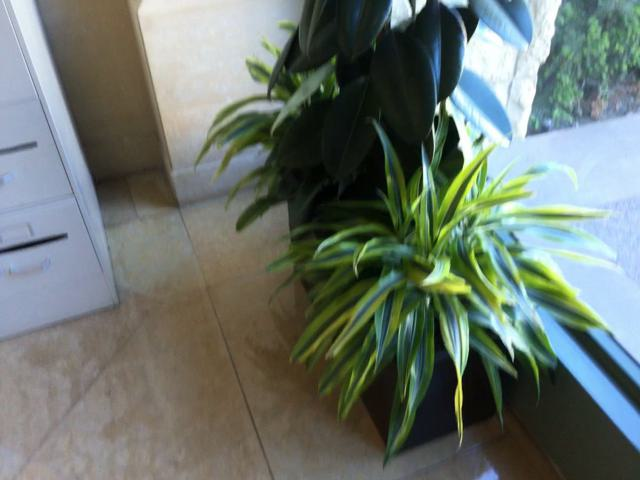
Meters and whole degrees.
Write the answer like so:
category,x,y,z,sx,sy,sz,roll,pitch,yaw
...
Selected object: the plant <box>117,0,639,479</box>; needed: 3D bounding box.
category,x,y,z,sx,sy,sz,roll,pitch,yaw
plant,0.130,-0.240,1.240,0.700,1.490,1.160,-23,43,-22
